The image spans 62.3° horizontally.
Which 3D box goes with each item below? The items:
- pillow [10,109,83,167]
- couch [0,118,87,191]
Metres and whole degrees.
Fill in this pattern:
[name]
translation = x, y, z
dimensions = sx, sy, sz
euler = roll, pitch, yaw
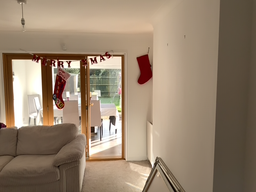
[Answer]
[pillow]
translation = -1.260, 0.660, 3.340
dimensions = 0.920, 0.510, 0.220
euler = 30, 5, -12
[couch]
translation = -1.730, 0.880, 3.130
dimensions = 2.150, 0.870, 1.080
euler = 0, 6, -9
